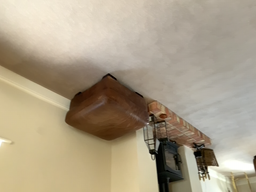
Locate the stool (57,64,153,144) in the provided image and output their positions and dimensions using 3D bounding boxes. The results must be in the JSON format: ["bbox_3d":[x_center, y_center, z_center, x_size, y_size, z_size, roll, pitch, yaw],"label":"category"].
[{"bbox_3d":[-0.230,0.140,2.230,0.670,0.390,0.680,-27,138,31],"label":"stool"}]
